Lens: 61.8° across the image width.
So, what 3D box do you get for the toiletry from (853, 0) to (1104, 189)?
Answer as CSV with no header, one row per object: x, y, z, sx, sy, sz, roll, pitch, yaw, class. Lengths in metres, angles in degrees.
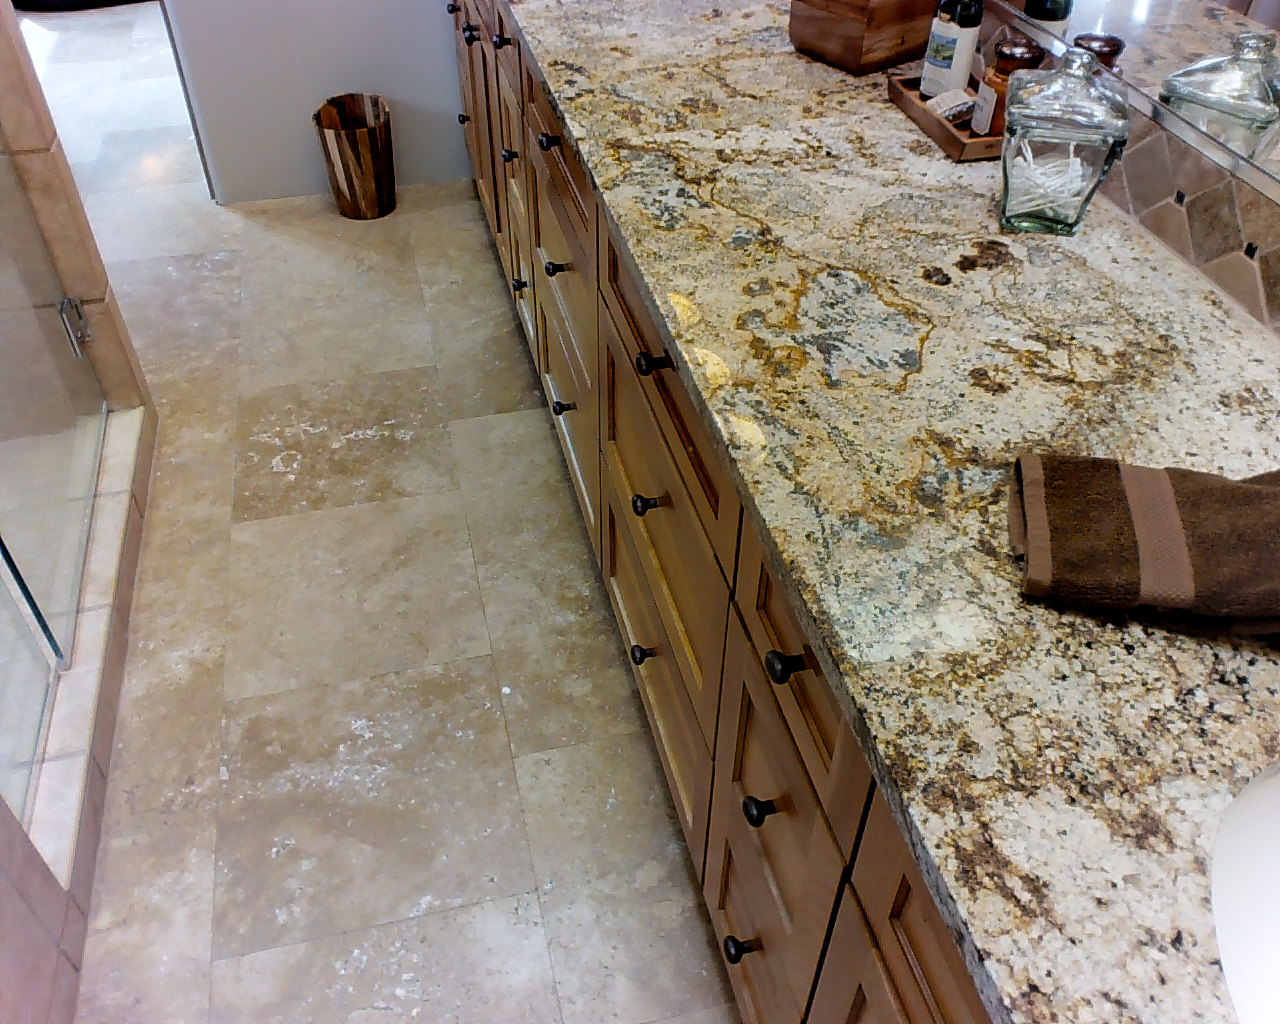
0.400,-0.560,1.320,0.150,0.200,0.270,-9,43,-11,toiletry

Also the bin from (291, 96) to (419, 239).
-0.800,-0.970,3.010,0.290,0.290,0.230,-10,44,-12,bin
